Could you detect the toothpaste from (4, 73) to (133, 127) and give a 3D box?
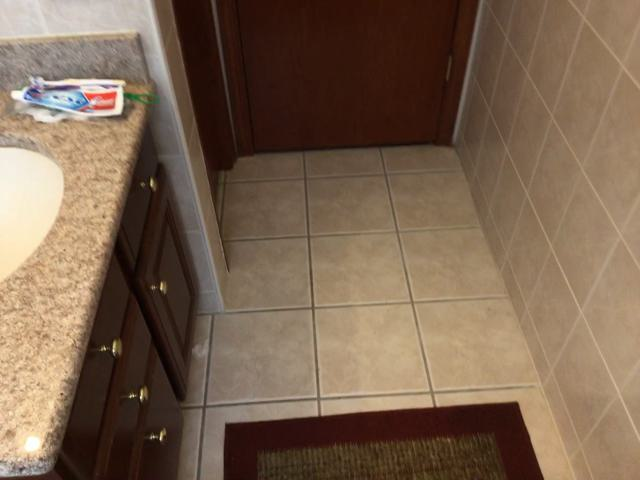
[{"bbox_3d":[-0.460,-0.260,1.070,0.200,0.050,0.080,-4,46,-2],"label":"toothpaste"}]

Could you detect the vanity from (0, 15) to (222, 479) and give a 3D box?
[{"bbox_3d":[-0.570,0.200,1.120,0.590,0.890,0.830,-4,46,-2],"label":"vanity"}]
